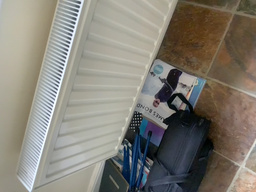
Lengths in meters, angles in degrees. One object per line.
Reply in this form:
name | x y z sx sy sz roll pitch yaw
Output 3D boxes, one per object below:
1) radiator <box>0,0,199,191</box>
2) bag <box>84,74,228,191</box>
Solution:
radiator | -0.020 -0.200 0.770 0.190 0.640 1.140 26 105 30
bag | 0.090 0.360 1.040 0.400 0.330 0.830 26 105 30
